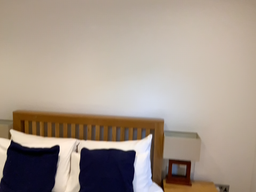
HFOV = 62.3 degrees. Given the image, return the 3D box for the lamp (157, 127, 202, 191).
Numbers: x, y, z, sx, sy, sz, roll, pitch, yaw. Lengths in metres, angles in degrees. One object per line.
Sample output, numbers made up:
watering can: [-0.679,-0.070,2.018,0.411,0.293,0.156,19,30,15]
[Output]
lamp: [0.460,0.570,1.950,0.350,0.500,0.190,4,8,9]

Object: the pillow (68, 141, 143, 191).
pillow: [-0.170,0.630,1.610,0.460,0.390,0.200,18,10,5]

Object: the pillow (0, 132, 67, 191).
pillow: [-0.790,0.580,1.680,0.470,0.400,0.160,22,11,5]
